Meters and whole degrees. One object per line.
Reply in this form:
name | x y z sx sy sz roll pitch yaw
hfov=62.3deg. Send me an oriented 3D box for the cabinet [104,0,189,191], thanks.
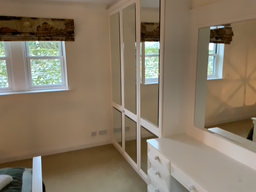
cabinet | 0.110 -0.170 2.890 0.300 2.360 1.720 -6 12 -22
